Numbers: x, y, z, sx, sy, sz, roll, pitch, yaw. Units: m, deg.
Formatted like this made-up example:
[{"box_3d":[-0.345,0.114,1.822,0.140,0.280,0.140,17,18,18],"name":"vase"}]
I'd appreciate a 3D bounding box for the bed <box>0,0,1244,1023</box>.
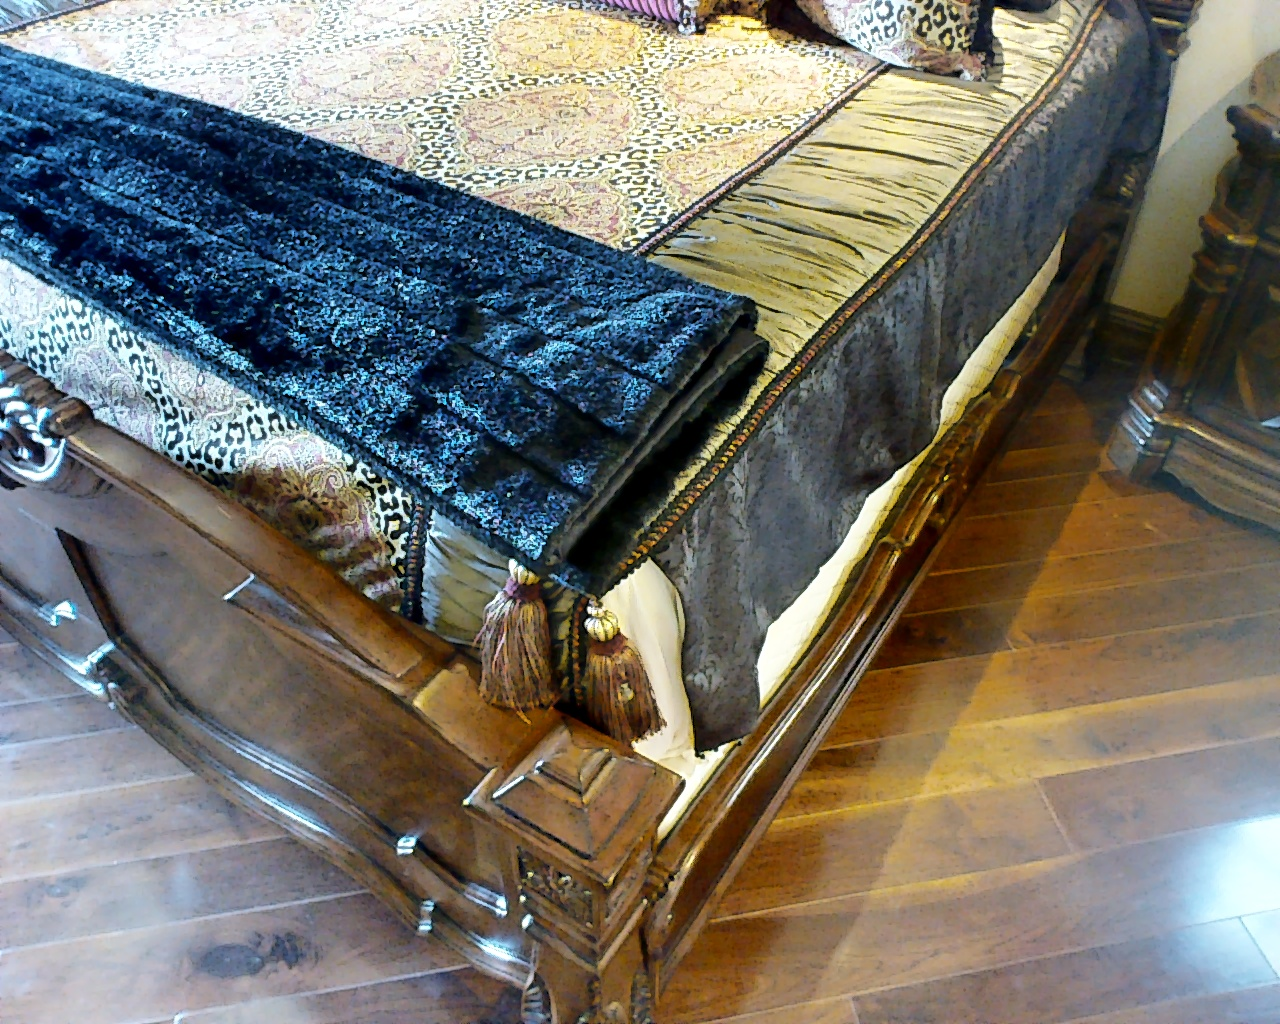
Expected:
[{"box_3d":[-0.260,-0.560,2.260,2.140,1.070,2.170,25,47,25],"name":"bed"}]
